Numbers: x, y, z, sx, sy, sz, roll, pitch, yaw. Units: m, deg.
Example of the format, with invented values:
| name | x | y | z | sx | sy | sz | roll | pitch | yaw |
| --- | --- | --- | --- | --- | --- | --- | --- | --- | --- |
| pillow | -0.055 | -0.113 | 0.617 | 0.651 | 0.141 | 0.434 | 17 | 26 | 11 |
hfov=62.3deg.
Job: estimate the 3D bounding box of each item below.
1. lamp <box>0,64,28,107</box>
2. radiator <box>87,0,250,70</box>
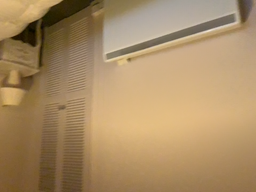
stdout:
| name | x | y | z | sx | sy | sz | roll | pitch | yaw |
| --- | --- | --- | --- | --- | --- | --- | --- | --- | --- |
| lamp | -1.230 | -0.100 | 2.240 | 0.210 | 0.390 | 0.220 | -9 | 167 | 35 |
| radiator | 0.190 | -0.690 | 1.580 | 1.150 | 0.740 | 0.230 | -9 | 167 | 35 |
